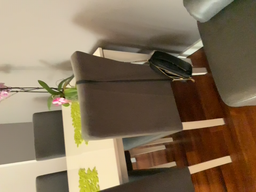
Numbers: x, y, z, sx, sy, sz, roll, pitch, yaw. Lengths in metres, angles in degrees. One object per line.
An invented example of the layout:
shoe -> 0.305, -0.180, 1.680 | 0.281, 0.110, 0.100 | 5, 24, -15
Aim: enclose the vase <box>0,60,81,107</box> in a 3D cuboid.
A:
vase -> -0.630, -0.070, 1.350 | 0.150, 0.610, 0.240 | -27, 68, 53
